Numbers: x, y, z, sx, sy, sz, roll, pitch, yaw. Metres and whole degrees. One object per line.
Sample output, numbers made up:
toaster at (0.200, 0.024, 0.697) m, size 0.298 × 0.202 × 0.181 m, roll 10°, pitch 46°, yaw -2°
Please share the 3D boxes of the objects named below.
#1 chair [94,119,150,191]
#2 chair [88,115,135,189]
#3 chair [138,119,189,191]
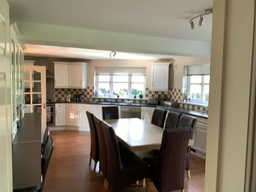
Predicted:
chair at (-0.100, 0.870, 2.940) m, size 0.630 × 0.980 × 0.470 m, roll -1°, pitch 4°, yaw -24°
chair at (-0.270, 0.840, 3.350) m, size 0.630 × 0.990 × 0.410 m, roll -1°, pitch 4°, yaw -24°
chair at (0.470, 0.880, 2.990) m, size 0.400 × 0.980 × 0.630 m, roll -1°, pitch 4°, yaw -26°
